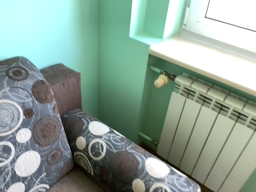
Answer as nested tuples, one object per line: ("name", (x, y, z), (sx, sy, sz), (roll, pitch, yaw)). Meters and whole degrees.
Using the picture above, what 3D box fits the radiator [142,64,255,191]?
("radiator", (0.380, 0.260, 1.160), (0.570, 0.700, 0.110), (30, 42, 28))
